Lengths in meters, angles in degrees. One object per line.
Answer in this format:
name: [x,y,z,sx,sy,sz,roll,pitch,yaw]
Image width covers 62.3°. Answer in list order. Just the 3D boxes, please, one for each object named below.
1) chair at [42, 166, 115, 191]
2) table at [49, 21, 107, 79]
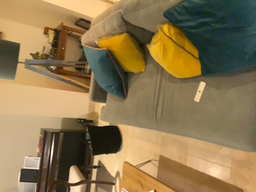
chair: [-0.660,1.220,2.790,0.550,0.780,0.400,-4,80,56]
table: [-0.810,-0.710,3.470,0.370,0.760,0.720,2,85,57]
